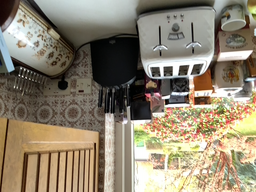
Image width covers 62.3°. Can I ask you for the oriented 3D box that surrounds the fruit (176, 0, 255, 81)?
[{"bbox_3d":[0.470,-0.230,0.770,0.300,0.200,0.500,6,167,-31],"label":"fruit"}]
